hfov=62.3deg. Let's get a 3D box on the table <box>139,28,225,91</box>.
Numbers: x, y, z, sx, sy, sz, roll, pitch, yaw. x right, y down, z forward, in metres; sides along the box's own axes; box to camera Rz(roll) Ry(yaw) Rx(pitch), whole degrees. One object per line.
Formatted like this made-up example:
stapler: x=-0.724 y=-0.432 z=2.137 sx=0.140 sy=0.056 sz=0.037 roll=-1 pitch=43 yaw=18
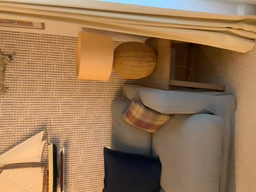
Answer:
table: x=0.460 y=-0.300 z=1.940 sx=0.500 sy=0.550 sz=0.460 roll=-163 pitch=75 yaw=-69
